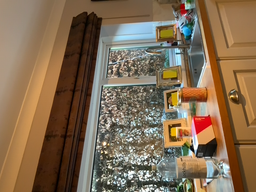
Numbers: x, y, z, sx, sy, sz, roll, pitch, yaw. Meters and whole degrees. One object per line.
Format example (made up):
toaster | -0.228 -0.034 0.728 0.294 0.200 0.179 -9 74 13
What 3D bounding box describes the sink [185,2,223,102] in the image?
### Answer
sink | 0.560 -0.320 1.650 0.530 0.110 0.540 77 -167 -59
